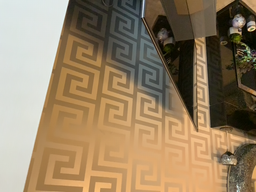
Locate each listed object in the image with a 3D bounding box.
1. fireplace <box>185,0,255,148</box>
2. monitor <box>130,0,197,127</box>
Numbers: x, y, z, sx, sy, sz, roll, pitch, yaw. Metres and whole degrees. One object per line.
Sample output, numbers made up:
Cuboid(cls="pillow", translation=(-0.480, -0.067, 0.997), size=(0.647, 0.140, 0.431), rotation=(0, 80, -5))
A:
Cuboid(cls="fireplace", translation=(1.330, -0.100, 2.280), size=(1.360, 1.110, 0.630), rotation=(18, 156, -30))
Cuboid(cls="monitor", translation=(0.280, -0.320, 1.170), size=(0.060, 0.720, 1.150), rotation=(-4, 158, 22))
